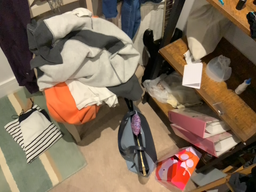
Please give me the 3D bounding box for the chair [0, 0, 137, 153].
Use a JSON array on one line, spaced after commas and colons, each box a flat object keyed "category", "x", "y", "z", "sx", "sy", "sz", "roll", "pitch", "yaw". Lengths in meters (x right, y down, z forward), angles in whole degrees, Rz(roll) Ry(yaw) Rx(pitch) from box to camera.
[{"category": "chair", "x": -0.350, "y": -0.210, "z": 1.030, "sx": 0.490, "sy": 0.940, "sz": 0.580, "roll": -35, "pitch": 68, "yaw": -17}]
